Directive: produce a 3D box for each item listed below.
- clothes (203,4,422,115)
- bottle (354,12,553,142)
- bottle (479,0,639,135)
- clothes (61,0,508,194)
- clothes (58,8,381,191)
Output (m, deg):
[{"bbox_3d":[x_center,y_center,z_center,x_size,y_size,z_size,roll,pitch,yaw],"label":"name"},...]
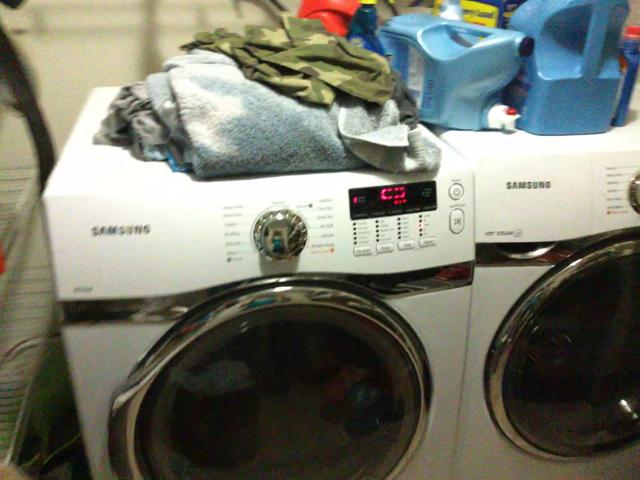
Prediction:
[{"bbox_3d":[-0.040,-0.330,1.020,0.310,0.120,0.370,-3,27,-12],"label":"clothes"},{"bbox_3d":[0.240,-0.330,1.140,0.270,0.190,0.280,-3,27,-12],"label":"bottle"},{"bbox_3d":[0.470,-0.370,1.110,0.210,0.280,0.200,-3,27,-12],"label":"bottle"},{"bbox_3d":[-0.080,-0.320,1.030,0.600,0.290,0.480,-3,27,-12],"label":"clothes"},{"bbox_3d":[-0.220,-0.350,1.210,0.440,0.160,0.870,-3,27,-12],"label":"clothes"}]
